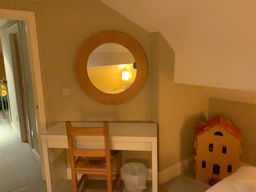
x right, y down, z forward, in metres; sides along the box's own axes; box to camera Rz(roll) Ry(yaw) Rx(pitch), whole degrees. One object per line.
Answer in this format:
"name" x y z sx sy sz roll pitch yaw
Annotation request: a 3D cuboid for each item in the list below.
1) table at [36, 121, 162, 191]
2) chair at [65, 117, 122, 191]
"table" -0.270 0.740 2.390 1.240 0.800 0.490 -1 11 4
"chair" -0.340 0.720 2.320 0.460 0.860 0.470 0 11 6
